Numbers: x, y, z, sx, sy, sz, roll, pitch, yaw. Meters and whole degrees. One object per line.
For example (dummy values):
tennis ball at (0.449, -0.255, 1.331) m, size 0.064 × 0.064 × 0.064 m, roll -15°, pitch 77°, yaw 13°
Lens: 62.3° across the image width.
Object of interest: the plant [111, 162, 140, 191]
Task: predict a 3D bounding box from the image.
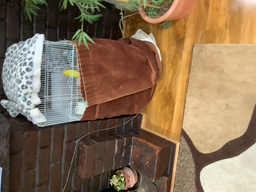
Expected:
plant at (-0.020, 0.610, 1.600) m, size 0.110 × 0.180 × 0.150 m, roll 16°, pitch 103°, yaw 46°
